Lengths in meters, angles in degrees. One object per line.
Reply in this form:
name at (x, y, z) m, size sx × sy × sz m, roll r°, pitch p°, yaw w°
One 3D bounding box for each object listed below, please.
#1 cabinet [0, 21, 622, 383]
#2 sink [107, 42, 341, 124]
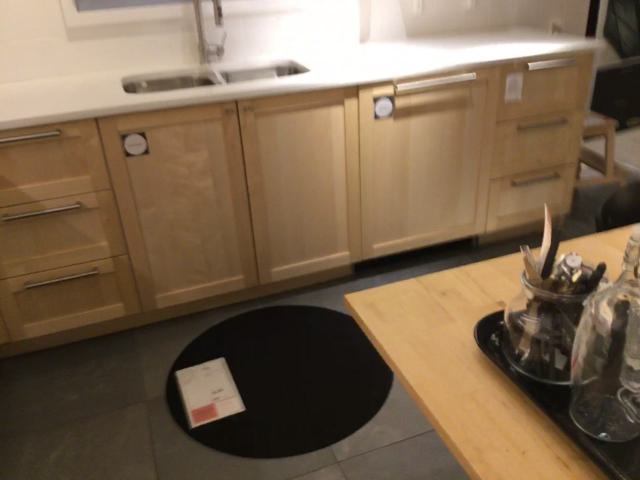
cabinet at (-0.050, -0.280, 2.450) m, size 2.470 × 0.900 × 0.660 m, roll -12°, pitch 27°, yaw -14°
sink at (-0.390, -0.640, 2.290) m, size 0.840 × 0.130 × 0.440 m, roll -12°, pitch 27°, yaw -14°
